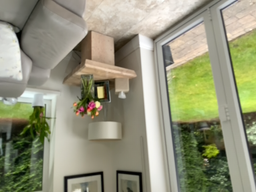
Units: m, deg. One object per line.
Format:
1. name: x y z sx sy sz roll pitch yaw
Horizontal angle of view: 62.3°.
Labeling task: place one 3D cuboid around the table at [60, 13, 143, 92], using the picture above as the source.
1. table: -0.320 -0.420 2.400 0.640 0.510 0.690 8 162 -37
